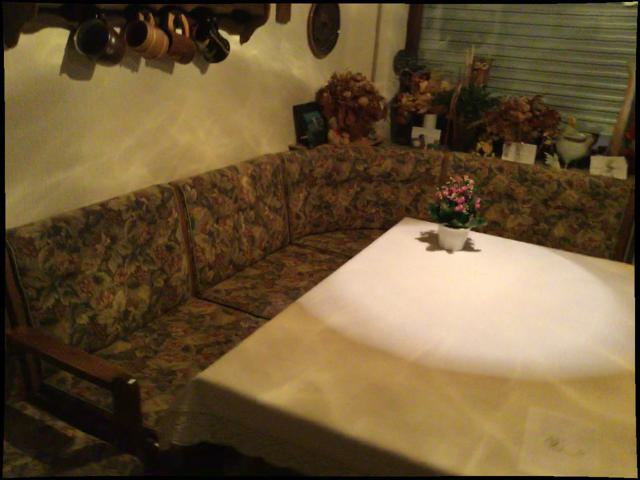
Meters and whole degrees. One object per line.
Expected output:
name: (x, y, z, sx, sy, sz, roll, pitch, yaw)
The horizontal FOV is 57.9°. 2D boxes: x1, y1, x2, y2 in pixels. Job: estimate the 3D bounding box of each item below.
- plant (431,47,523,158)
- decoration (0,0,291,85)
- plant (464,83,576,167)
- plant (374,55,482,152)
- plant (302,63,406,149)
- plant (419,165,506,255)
plant: (0.809, -0.721, 2.990, 0.310, 0.490, 0.290, 17, 25, 27)
decoration: (-0.470, -0.961, 1.810, 0.190, 0.821, 1.120, 18, 26, 27)
plant: (0.999, -0.591, 2.900, 0.420, 0.310, 0.310, 17, 25, 27)
plant: (0.579, -0.751, 3.120, 0.420, 0.420, 0.350, 17, 25, 27)
plant: (0.180, -0.701, 2.970, 0.340, 0.340, 0.430, 17, 25, 27)
plant: (0.490, -0.110, 1.990, 0.210, 0.230, 0.180, 17, 25, 27)
